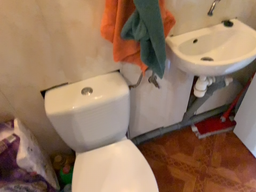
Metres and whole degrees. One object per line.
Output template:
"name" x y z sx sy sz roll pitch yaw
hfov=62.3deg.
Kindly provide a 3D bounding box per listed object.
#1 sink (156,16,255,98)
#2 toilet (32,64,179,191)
"sink" 0.390 -0.190 0.970 0.450 0.170 0.250 -15 48 -10
"toilet" -0.110 0.370 1.000 0.370 0.750 0.610 -16 48 -11
